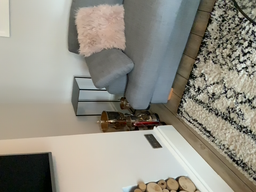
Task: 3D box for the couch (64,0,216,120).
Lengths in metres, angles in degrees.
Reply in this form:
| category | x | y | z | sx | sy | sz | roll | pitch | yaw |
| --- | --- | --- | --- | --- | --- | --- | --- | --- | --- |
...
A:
| category | x | y | z | sx | sy | sz | roll | pitch | yaw |
| --- | --- | --- | --- | --- | --- | --- | --- | --- | --- |
| couch | 0.090 | -1.110 | 1.730 | 1.100 | 0.840 | 2.360 | -128 | 45 | -52 |
